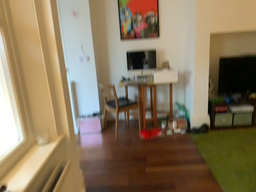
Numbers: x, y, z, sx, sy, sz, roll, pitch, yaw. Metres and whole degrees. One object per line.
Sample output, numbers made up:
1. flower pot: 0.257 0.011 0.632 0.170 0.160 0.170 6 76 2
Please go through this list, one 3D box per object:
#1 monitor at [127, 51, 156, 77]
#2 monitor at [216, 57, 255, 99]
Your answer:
1. monitor: 0.220 -0.520 3.440 0.460 0.380 0.060 -3 10 -2
2. monitor: 1.770 -0.270 3.150 0.880 0.580 0.060 -3 15 0
